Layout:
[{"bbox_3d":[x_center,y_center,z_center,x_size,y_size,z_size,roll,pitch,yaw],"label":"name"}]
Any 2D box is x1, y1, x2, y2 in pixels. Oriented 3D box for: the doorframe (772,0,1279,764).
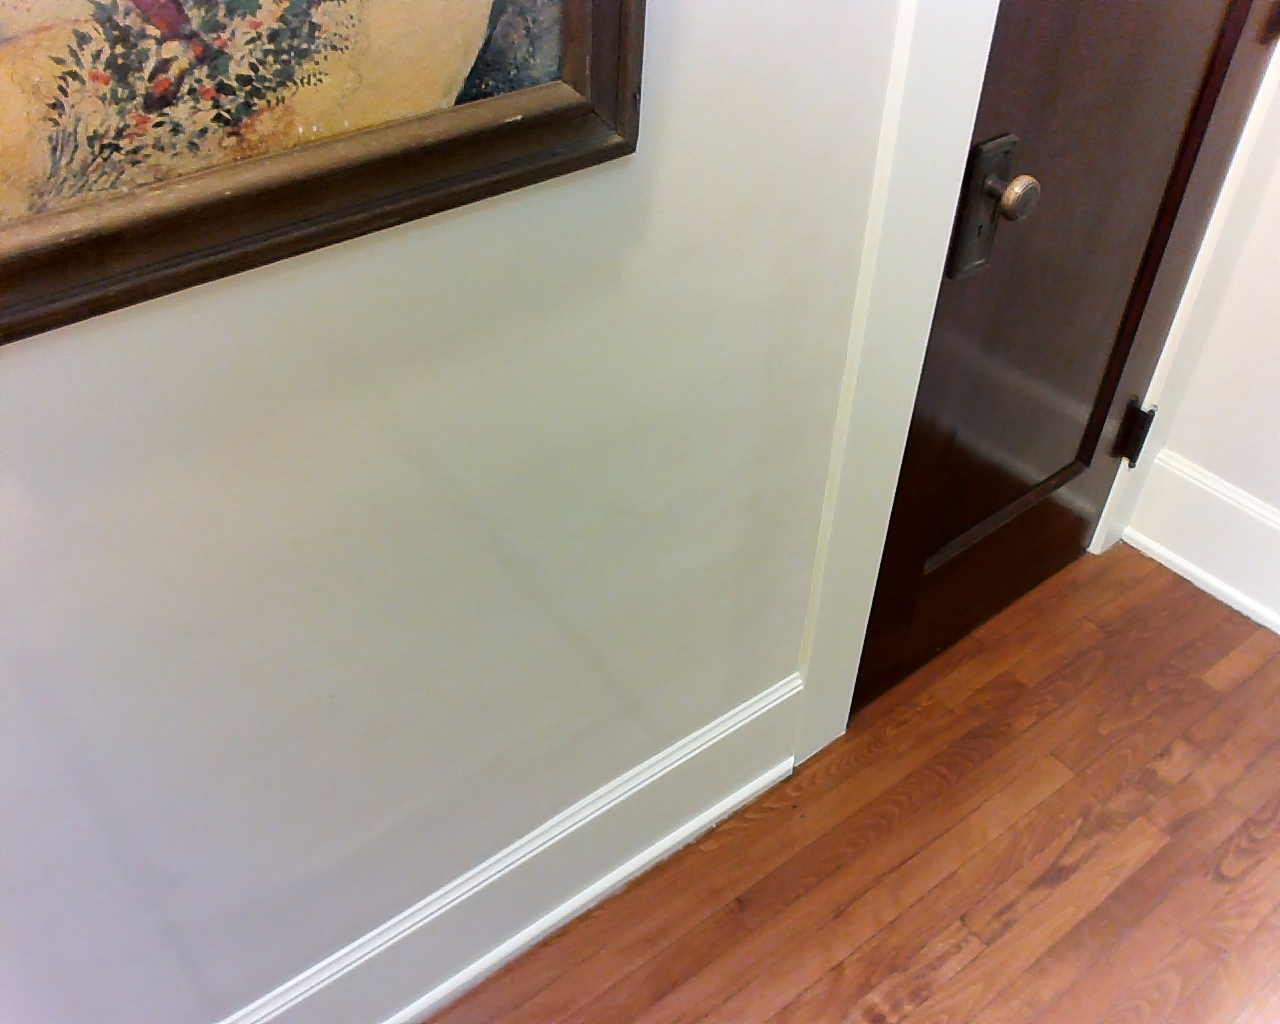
[{"bbox_3d":[0.670,-0.630,1.360,1.030,2.230,0.080,-26,48,-27],"label":"doorframe"}]
